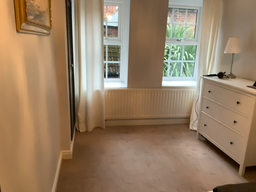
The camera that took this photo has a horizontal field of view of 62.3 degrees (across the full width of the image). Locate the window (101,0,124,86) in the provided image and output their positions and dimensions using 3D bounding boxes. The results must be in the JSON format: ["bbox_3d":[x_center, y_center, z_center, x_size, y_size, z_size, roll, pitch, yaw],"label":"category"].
[{"bbox_3d":[-0.280,-0.950,3.740,0.390,1.550,0.110,-1,15,-9],"label":"window"}]

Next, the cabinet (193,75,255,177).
[{"bbox_3d":[1.360,0.280,2.710,0.500,0.940,1.030,-2,15,-12],"label":"cabinet"}]
